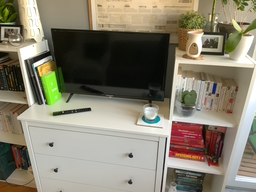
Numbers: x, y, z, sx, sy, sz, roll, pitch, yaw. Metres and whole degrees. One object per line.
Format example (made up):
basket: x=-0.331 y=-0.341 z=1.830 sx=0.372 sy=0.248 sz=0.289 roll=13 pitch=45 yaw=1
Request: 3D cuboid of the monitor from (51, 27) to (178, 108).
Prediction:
monitor: x=-0.100 y=-0.180 z=1.370 sx=0.770 sy=0.460 sz=0.040 roll=7 pitch=27 yaw=9

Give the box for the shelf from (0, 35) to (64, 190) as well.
shelf: x=-0.980 y=0.140 z=1.710 sx=0.720 sy=1.180 sz=0.330 roll=6 pitch=25 yaw=8

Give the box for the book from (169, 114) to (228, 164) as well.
book: x=0.460 y=0.290 z=1.440 sx=0.330 sy=0.260 sz=0.130 roll=7 pitch=26 yaw=10

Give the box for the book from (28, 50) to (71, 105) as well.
book: x=-0.530 y=-0.140 z=1.490 sx=0.130 sy=0.290 sz=0.300 roll=5 pitch=25 yaw=7
